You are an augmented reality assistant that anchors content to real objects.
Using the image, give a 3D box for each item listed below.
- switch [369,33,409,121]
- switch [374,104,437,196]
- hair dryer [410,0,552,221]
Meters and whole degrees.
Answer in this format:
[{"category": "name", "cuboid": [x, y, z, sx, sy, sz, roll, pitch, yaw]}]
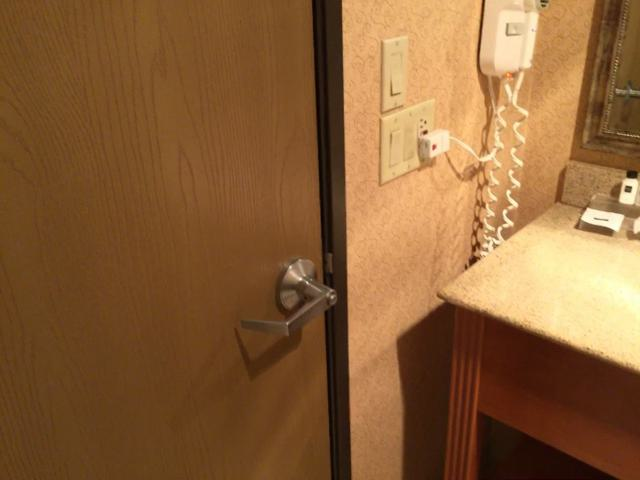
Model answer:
[{"category": "switch", "cuboid": [0.110, -0.260, 0.920, 0.010, 0.120, 0.090, 20, 35, 37]}, {"category": "switch", "cuboid": [0.150, -0.160, 1.010, 0.020, 0.120, 0.160, 20, 35, 37]}, {"category": "hair dryer", "cuboid": [0.300, -0.280, 1.070, 0.100, 0.400, 0.300, 20, 35, 37]}]
